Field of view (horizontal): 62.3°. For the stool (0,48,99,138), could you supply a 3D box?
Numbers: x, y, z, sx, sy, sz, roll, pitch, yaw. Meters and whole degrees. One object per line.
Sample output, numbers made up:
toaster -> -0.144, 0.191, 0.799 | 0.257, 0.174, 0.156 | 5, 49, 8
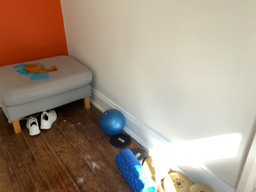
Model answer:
stool -> -0.850, -0.100, 2.130 | 0.850, 0.470, 0.670 | -21, 34, -32

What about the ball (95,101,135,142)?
ball -> -0.110, 0.210, 1.830 | 0.250, 0.190, 0.220 | -24, 35, -36
